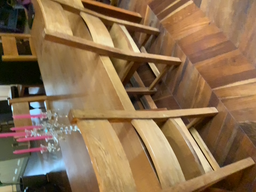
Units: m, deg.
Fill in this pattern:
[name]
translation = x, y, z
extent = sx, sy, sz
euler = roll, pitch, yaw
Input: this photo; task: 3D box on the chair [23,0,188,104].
[chair]
translation = -0.160, -0.300, 1.640
extent = 0.550, 1.050, 0.450
euler = -50, 53, 40
